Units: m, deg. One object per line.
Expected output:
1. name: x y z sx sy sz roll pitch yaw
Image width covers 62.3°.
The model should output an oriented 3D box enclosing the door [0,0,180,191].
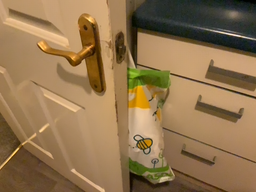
1. door: -0.290 -0.200 0.510 0.820 1.940 0.040 22 50 21
